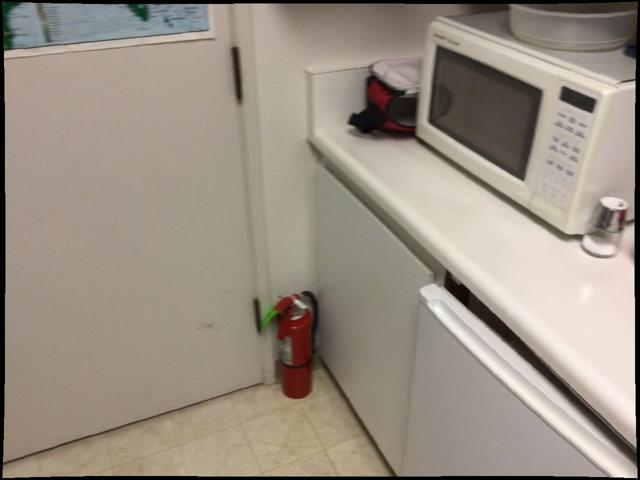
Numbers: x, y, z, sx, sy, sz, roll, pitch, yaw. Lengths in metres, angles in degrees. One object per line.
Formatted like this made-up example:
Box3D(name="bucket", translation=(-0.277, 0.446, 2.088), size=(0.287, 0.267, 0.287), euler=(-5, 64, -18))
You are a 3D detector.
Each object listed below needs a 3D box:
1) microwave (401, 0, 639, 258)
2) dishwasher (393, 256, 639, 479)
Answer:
Box3D(name="microwave", translation=(0.529, -0.300, 1.260), size=(0.440, 0.310, 0.600), euler=(-15, 36, -19))
Box3D(name="dishwasher", translation=(0.360, 0.440, 1.070), size=(0.120, 0.560, 0.640), euler=(-15, 36, -19))
